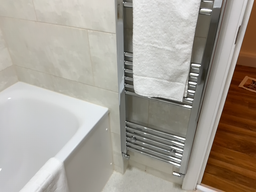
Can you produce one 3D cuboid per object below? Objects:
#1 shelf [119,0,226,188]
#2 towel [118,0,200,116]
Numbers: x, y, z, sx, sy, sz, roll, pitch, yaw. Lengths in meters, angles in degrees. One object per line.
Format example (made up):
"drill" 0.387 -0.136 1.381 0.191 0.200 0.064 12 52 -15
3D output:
"shelf" 0.160 0.000 1.050 0.400 1.300 0.030 14 38 20
"towel" 0.110 -0.220 0.820 0.260 0.570 0.140 14 34 20
